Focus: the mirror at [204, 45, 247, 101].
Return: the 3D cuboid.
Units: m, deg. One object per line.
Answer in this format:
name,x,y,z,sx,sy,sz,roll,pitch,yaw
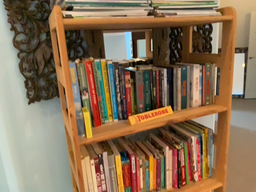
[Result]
mirror,2.440,-0.580,5.350,0.820,1.330,0.330,6,4,20
